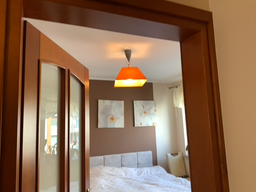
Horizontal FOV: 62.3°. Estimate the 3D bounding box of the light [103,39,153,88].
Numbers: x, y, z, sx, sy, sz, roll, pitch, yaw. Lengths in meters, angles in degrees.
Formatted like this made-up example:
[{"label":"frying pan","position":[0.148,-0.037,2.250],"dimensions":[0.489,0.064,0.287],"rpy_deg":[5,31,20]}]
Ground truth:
[{"label":"light","position":[-0.020,-0.420,2.890],"dimensions":[0.400,0.510,0.400],"rpy_deg":[-36,-87,-16]}]
